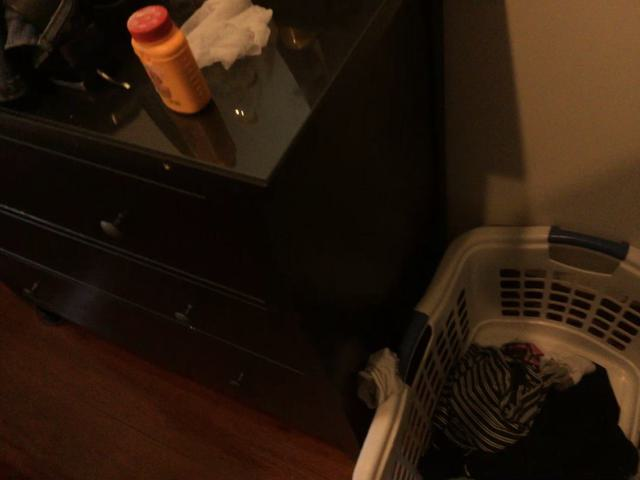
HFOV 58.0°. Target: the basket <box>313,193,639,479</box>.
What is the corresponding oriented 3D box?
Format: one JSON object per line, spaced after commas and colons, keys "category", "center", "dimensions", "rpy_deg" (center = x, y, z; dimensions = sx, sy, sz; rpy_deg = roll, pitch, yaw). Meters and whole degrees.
{"category": "basket", "center": [0.380, 0.330, 1.030], "dimensions": [0.560, 0.360, 0.650], "rpy_deg": [15, 58, 22]}
